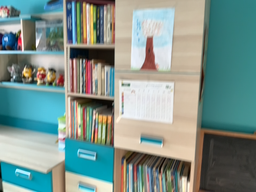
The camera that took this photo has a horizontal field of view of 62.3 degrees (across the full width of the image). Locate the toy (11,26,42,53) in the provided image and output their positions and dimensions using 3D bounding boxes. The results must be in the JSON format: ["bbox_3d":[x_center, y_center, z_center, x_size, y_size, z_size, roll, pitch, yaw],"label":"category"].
[{"bbox_3d":[-0.850,-0.470,1.780,0.160,0.200,0.160,4,10,17],"label":"toy"}]

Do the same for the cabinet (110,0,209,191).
[{"bbox_3d":[0.190,0.290,1.330,0.450,1.830,0.430,5,10,21],"label":"cabinet"}]

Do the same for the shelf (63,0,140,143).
[{"bbox_3d":[-0.160,-0.190,1.420,0.340,0.860,0.390,5,10,21],"label":"shelf"}]
